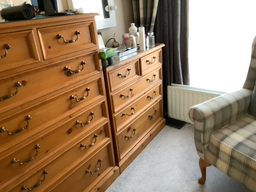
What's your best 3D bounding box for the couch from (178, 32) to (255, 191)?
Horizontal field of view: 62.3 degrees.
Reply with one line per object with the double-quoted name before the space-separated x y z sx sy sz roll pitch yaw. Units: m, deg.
"couch" 0.930 0.160 1.420 0.840 0.980 0.800 -19 26 -27
